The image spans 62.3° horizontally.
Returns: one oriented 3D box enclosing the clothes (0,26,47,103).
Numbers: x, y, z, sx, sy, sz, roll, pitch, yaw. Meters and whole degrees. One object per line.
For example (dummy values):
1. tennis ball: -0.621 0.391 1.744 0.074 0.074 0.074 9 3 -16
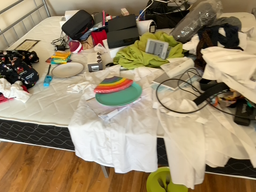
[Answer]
1. clothes: -0.840 -0.210 1.380 0.570 0.130 0.670 -16 42 -8
